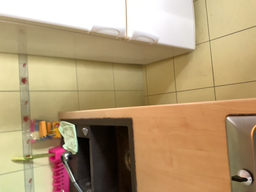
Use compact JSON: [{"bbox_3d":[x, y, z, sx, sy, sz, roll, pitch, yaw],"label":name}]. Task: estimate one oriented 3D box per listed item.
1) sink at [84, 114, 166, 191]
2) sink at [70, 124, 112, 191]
[{"bbox_3d":[-0.030,0.340,1.090,0.400,0.190,0.470,-7,86,50],"label":"sink"},{"bbox_3d":[-0.230,0.370,1.300,0.190,0.150,0.370,-7,86,50],"label":"sink"}]
